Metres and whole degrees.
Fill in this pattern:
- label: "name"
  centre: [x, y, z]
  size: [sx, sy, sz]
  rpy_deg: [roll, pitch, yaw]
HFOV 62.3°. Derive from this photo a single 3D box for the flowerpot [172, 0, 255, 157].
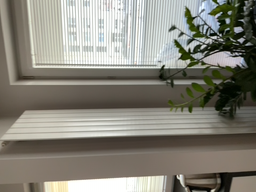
- label: "flowerpot"
  centre: [0.950, -0.310, 1.460]
  size: [1.030, 0.890, 0.960]
  rpy_deg: [-112, 23, -71]
